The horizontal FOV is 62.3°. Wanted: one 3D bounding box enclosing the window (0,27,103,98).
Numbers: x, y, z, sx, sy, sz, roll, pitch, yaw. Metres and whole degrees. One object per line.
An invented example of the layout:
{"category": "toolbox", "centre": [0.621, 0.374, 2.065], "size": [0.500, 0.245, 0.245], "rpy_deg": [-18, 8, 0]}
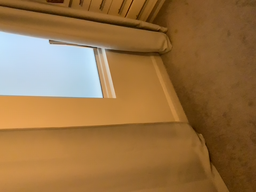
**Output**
{"category": "window", "centre": [-1.060, -0.310, 1.690], "size": [0.040, 1.680, 0.720], "rpy_deg": [-56, 42, 45]}

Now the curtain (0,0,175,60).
{"category": "curtain", "centre": [-0.690, -0.660, 1.800], "size": [0.260, 2.450, 0.340], "rpy_deg": [-53, 44, 47]}
